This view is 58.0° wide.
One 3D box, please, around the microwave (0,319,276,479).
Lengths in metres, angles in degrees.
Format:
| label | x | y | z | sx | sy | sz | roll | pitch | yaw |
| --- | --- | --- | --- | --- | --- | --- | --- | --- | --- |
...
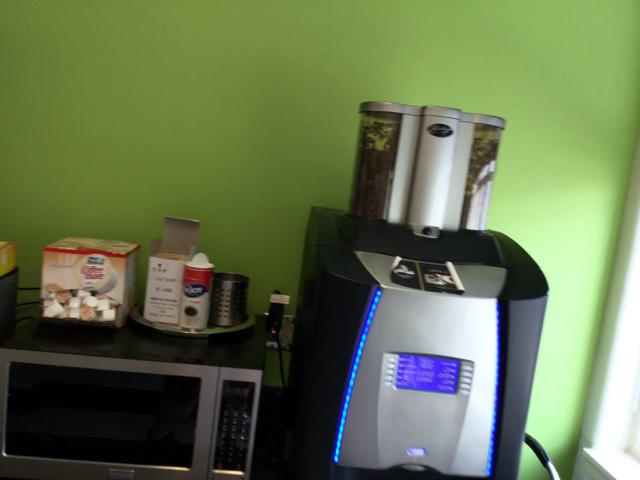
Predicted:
| label | x | y | z | sx | sy | sz | roll | pitch | yaw |
| --- | --- | --- | --- | --- | --- | --- | --- | --- | --- |
| microwave | -0.440 | 0.400 | 1.330 | 0.630 | 0.350 | 0.100 | 7 | 5 | -7 |

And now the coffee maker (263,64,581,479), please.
| label | x | y | z | sx | sy | sz | roll | pitch | yaw |
| --- | --- | --- | --- | --- | --- | --- | --- | --- | --- |
| coffee maker | 0.180 | 0.170 | 1.300 | 0.490 | 0.970 | 0.340 | 7 | 5 | -7 |
